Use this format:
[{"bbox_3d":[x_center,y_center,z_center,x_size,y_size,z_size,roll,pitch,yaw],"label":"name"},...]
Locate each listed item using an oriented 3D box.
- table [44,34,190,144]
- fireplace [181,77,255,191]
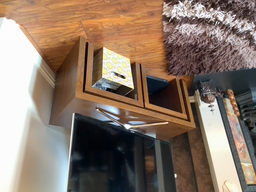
[{"bbox_3d":[-0.060,0.030,1.690,0.980,0.450,0.490,18,144,-33],"label":"table"},{"bbox_3d":[1.230,0.440,1.760,1.330,1.210,0.370,-6,151,5],"label":"fireplace"}]
